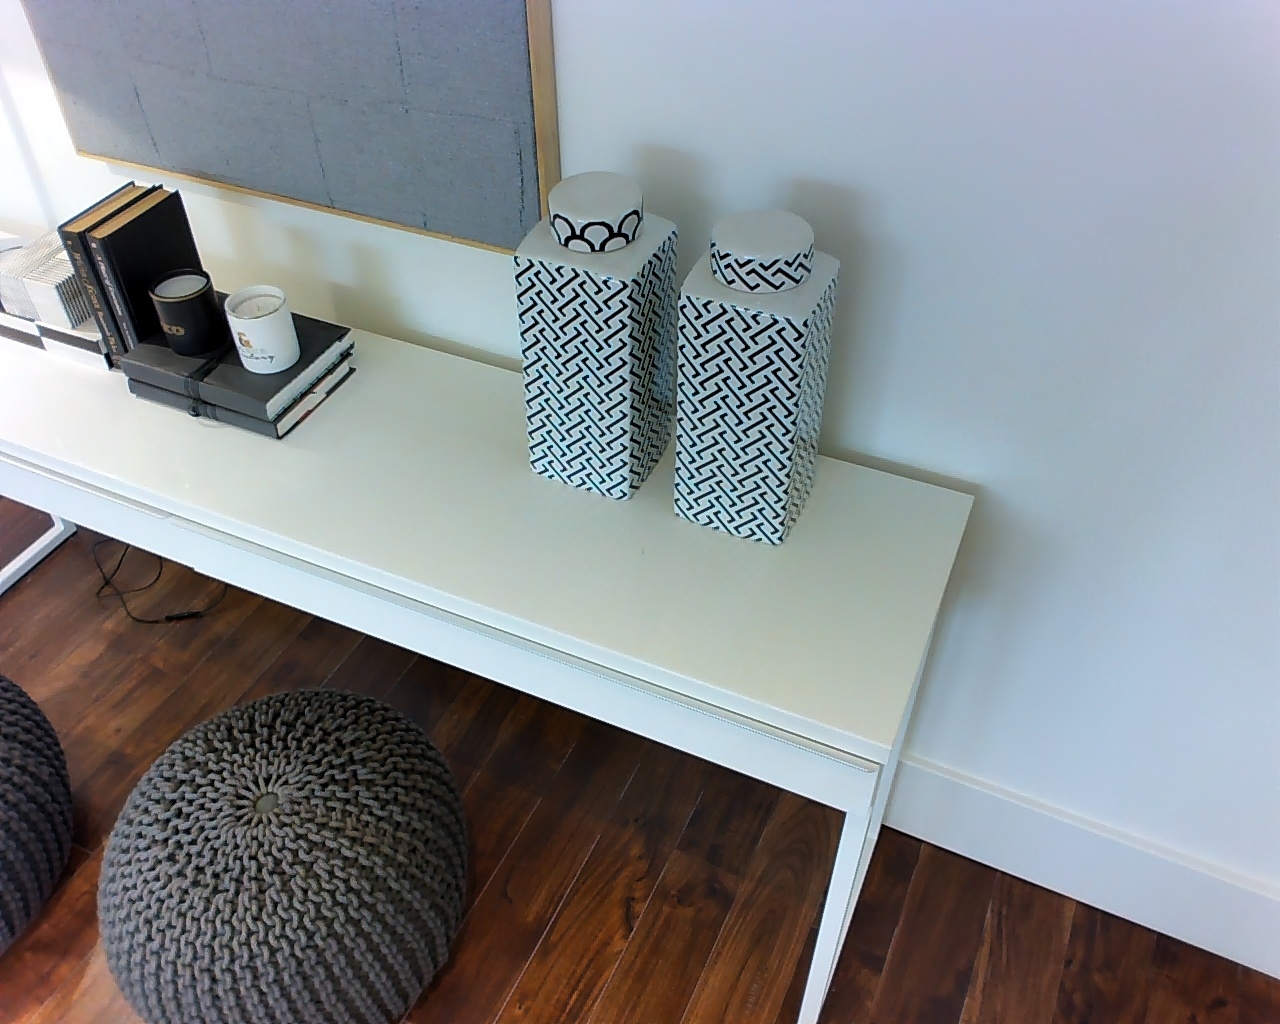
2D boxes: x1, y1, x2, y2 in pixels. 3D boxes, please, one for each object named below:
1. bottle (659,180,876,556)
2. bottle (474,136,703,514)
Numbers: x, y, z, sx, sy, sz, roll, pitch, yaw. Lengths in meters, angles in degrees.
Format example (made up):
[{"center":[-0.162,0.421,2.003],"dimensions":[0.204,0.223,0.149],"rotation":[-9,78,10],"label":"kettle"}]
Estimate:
[{"center":[0.130,-0.150,1.180],"dimensions":[0.170,0.360,0.140],"rotation":[17,45,18],"label":"bottle"},{"center":[-0.050,-0.210,1.240],"dimensions":[0.180,0.360,0.180],"rotation":[15,44,16],"label":"bottle"}]
